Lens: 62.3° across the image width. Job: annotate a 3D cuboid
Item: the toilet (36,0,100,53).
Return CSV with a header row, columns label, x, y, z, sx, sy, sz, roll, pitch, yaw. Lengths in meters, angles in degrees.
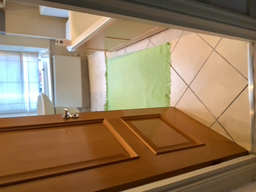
label,x,y,z,sx,sy,sz,roll,pitch,yaw
toilet,-0.860,-1.020,3.030,0.450,0.770,0.670,0,91,59
